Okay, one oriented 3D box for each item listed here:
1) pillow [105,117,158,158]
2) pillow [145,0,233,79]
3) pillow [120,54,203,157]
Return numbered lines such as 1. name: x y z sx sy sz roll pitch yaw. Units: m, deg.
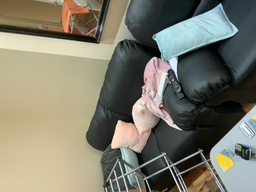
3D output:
1. pillow: 0.020 0.420 2.180 0.320 0.400 0.260 -66 34 37
2. pillow: 0.400 -0.390 1.430 0.440 0.210 0.310 -33 63 8
3. pillow: 0.220 0.090 1.800 0.660 0.260 0.530 -65 34 38
